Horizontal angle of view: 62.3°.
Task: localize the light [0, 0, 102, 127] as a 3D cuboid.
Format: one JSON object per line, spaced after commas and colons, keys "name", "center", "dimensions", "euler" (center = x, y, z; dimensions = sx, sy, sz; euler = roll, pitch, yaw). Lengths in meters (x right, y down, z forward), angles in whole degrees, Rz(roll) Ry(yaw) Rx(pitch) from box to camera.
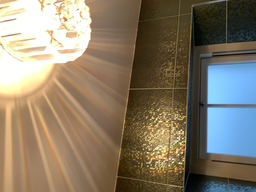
{"name": "light", "center": [-0.340, -0.250, 0.600], "dimensions": [0.470, 0.560, 0.340], "euler": [10, -18, -6]}
